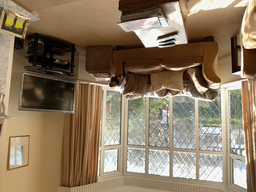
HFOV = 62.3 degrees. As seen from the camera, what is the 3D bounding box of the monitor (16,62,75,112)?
[{"bbox_3d":[-1.230,-0.100,3.280,0.040,0.670,0.900,-4,172,41],"label":"monitor"}]
